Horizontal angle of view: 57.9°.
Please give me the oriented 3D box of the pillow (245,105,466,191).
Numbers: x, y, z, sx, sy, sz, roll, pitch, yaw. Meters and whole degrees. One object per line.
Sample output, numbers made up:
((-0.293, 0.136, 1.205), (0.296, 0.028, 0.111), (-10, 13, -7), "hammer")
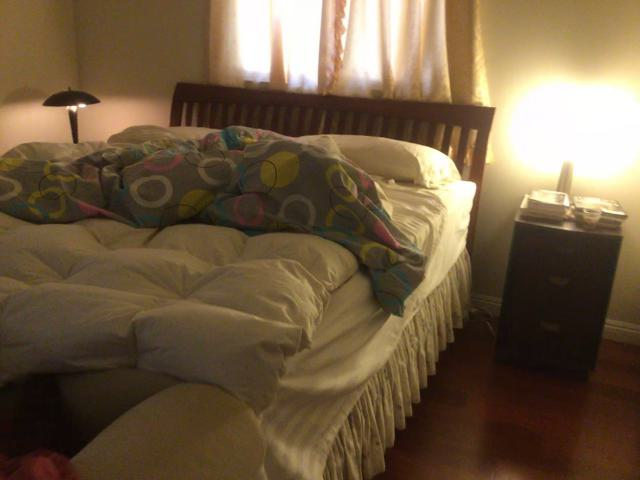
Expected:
((0.180, -0.460, 2.720), (0.890, 0.250, 0.560), (10, 17, 19), "pillow")

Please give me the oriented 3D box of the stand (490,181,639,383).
((1.040, 0.160, 2.510), (0.450, 0.730, 0.360), (10, 17, 19), "stand")

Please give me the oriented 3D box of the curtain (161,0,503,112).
((-0.010, -1.050, 2.950), (1.750, 0.610, 0.210), (10, 17, 19), "curtain")
